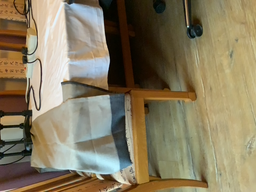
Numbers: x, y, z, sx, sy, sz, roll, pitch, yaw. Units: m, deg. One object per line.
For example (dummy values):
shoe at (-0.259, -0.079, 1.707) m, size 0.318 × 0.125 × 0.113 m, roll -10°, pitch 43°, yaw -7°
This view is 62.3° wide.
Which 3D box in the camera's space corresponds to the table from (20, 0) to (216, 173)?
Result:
table at (-0.270, -0.530, 1.490) m, size 1.100 × 0.750 × 1.830 m, roll -23°, pitch 71°, yaw 55°

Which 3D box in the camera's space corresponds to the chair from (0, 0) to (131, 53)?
chair at (-0.540, -0.710, 1.730) m, size 0.520 × 0.950 × 0.430 m, roll -23°, pitch 71°, yaw 55°

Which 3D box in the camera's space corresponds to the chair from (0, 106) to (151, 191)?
chair at (-0.430, 0.390, 1.500) m, size 0.500 × 1.020 × 0.530 m, roll -23°, pitch 71°, yaw 55°

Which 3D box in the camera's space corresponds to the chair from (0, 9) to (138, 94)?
chair at (-0.490, -0.260, 1.640) m, size 0.520 × 0.970 × 0.380 m, roll -23°, pitch 71°, yaw 55°
